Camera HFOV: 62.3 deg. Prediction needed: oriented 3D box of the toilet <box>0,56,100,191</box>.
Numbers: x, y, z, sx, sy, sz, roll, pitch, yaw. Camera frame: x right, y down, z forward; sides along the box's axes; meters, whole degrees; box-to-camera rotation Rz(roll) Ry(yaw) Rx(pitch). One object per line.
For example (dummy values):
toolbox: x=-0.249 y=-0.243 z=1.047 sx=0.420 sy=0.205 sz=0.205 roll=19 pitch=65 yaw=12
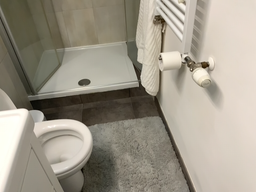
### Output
toilet: x=-0.490 y=0.280 z=1.100 sx=0.580 sy=0.800 sz=0.400 roll=-8 pitch=39 yaw=-5
